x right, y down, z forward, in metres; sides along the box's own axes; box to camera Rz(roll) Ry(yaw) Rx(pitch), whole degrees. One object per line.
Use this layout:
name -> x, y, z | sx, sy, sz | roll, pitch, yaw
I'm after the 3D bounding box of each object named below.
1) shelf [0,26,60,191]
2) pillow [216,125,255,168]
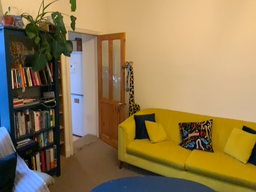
shelf -> -1.240, 0.170, 2.580 | 0.320, 1.870, 0.650 | 8, 13, 31
pillow -> 1.330, 0.610, 2.590 | 0.140, 0.370, 0.330 | 19, 28, -23
